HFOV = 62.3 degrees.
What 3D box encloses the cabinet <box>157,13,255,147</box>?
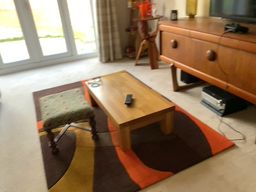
[{"bbox_3d":[0.850,-0.230,1.770,0.480,0.700,1.510,-15,30,-20],"label":"cabinet"}]
